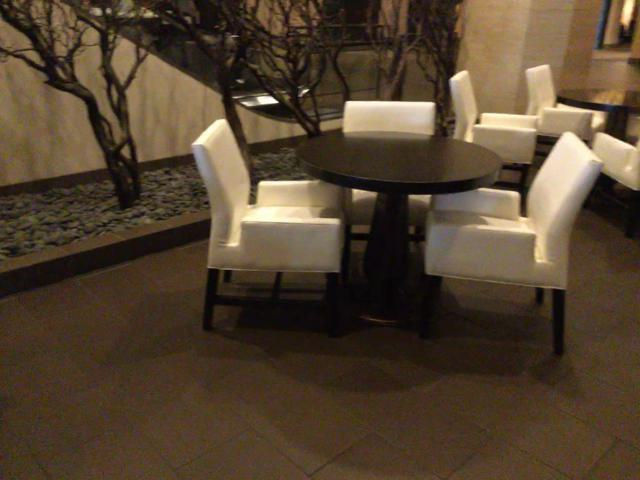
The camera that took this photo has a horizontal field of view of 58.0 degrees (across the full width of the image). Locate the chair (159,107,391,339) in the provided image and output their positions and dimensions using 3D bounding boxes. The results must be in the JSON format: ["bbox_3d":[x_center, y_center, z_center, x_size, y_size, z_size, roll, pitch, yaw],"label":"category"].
[{"bbox_3d":[-0.140,-0.110,2.660,0.880,0.870,0.700,0,22,4],"label":"chair"}]

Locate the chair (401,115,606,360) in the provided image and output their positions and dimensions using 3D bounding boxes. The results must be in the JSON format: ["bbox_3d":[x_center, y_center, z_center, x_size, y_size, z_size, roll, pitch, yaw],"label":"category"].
[{"bbox_3d":[0.770,-0.060,2.540,0.690,0.830,0.670,6,23,17],"label":"chair"}]

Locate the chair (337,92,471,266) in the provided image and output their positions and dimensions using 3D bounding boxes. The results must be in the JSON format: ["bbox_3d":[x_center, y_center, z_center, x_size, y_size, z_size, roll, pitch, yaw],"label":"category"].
[{"bbox_3d":[0.410,-0.350,3.100,0.610,0.770,0.660,0,22,3],"label":"chair"}]
